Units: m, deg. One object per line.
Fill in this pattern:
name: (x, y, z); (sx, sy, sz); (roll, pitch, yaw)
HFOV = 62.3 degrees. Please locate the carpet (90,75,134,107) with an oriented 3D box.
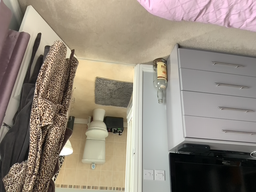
carpet: (-0.240, -0.040, 3.000); (0.540, 0.040, 0.800); (5, 153, -5)

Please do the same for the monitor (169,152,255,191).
monitor: (0.870, 0.790, 1.750); (1.060, 0.560, 0.070); (6, 153, -8)
